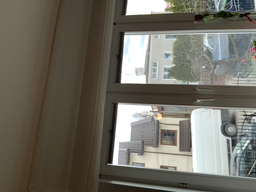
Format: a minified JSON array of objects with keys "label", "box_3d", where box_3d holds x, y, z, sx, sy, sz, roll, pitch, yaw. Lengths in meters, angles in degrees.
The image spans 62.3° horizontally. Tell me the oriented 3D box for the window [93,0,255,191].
[{"label":"window","box_3d":[0.560,-0.310,1.860,0.210,1.460,2.160,61,-148,-72]}]
